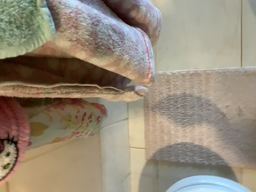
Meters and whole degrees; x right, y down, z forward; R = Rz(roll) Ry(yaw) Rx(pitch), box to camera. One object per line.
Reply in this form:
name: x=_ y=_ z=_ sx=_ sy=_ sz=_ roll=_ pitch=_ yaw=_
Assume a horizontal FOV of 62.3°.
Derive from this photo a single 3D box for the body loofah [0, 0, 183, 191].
body loofah: x=-0.150 y=-0.110 z=0.220 sx=0.250 sy=1.700 sz=0.360 roll=3 pitch=94 yaw=19
